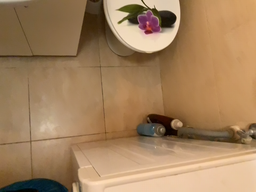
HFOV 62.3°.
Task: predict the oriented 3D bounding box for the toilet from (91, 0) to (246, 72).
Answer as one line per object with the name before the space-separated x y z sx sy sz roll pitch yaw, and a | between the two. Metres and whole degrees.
toilet | 0.070 -0.520 1.010 0.380 0.740 0.650 -1 83 -17
